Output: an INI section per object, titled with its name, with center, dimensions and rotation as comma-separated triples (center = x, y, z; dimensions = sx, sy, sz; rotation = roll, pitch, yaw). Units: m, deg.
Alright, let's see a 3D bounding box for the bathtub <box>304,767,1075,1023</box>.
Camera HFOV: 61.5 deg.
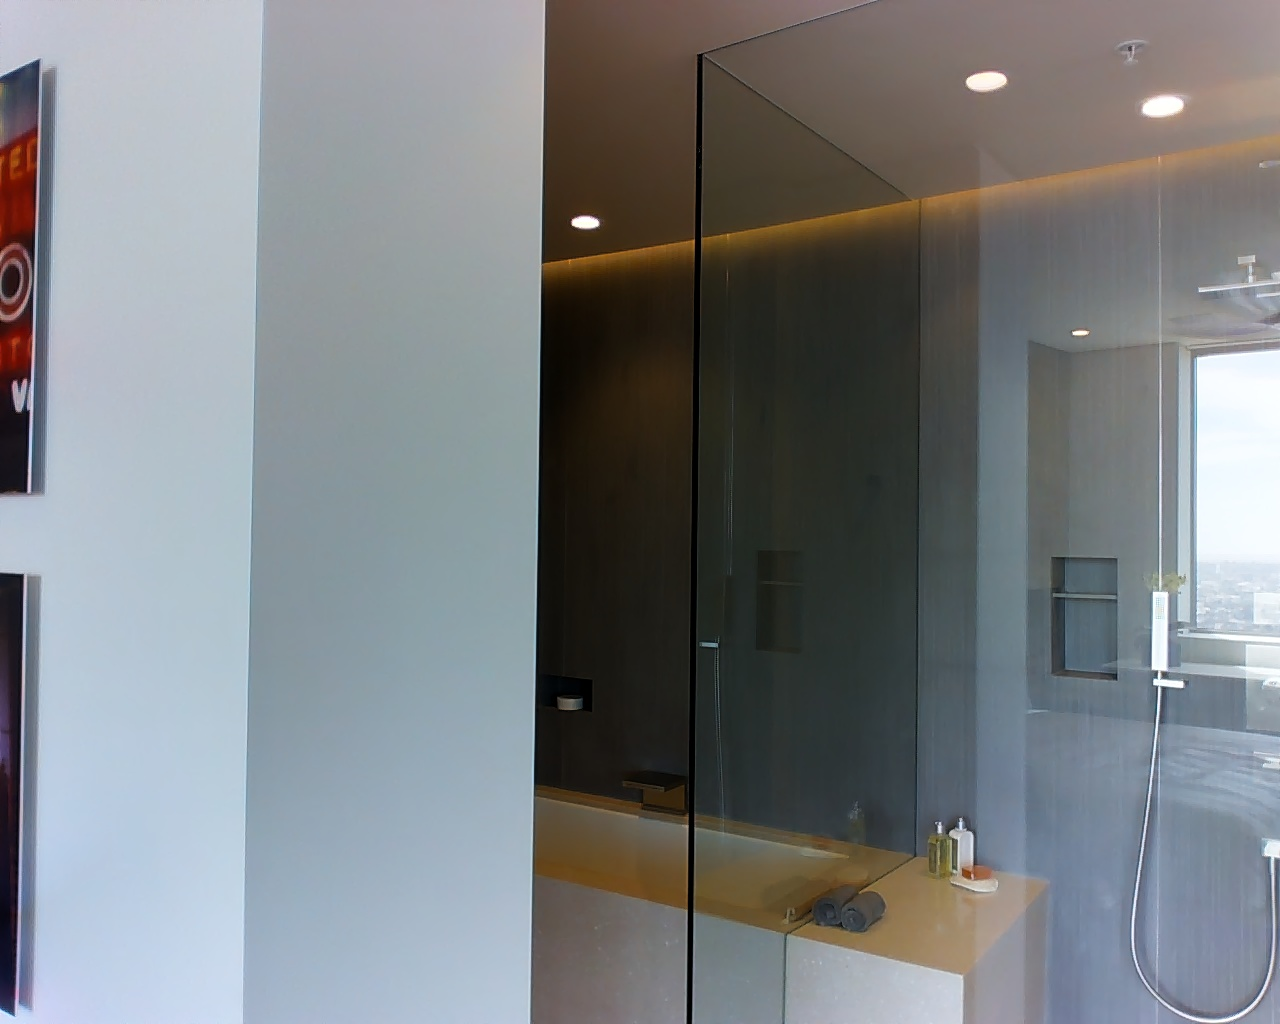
[bathtub]
center = 0.070, 1.340, 3.360
dimensions = 2.250, 0.630, 0.920
rotation = 0, -1, 34
